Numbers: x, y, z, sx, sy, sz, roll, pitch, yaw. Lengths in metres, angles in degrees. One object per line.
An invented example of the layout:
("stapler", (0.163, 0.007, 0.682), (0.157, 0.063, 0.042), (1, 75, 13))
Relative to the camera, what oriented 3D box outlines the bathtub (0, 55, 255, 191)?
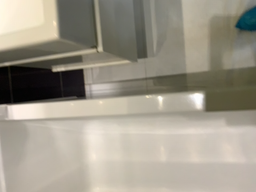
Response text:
("bathtub", (0.250, 0.270, 0.920), (1.720, 0.580, 0.760), (-5, 92, 19))
